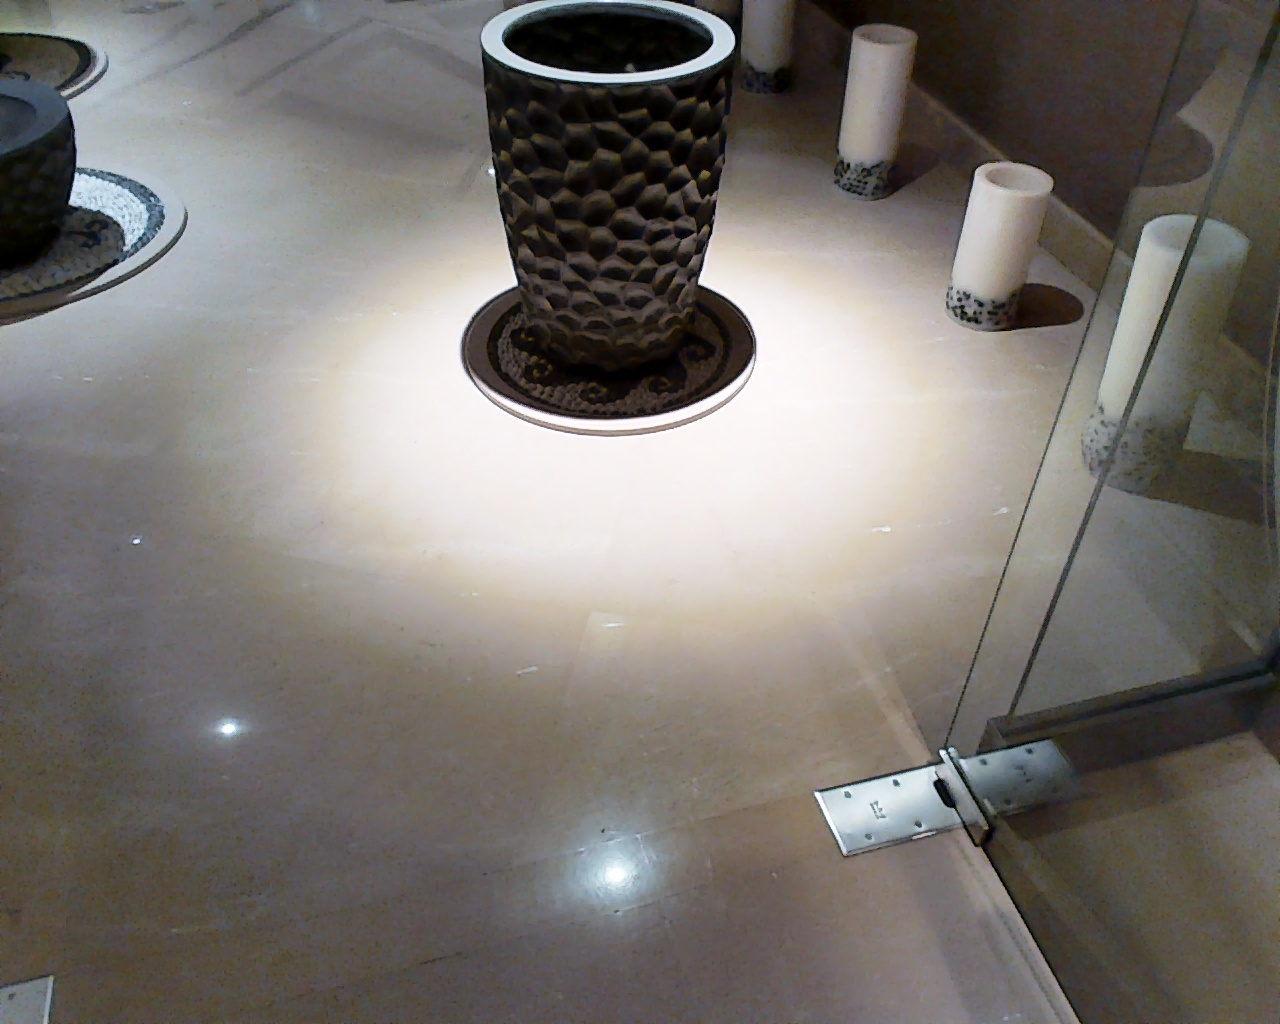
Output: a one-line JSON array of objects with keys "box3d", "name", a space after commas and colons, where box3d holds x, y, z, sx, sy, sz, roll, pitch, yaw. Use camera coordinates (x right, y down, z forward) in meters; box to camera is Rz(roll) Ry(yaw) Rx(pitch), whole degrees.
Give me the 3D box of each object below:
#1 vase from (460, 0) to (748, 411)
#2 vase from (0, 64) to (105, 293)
[{"box3d": [-0.100, -0.760, 2.630, 0.510, 0.810, 0.500, -11, 44, -13], "name": "vase"}, {"box3d": [-1.940, -0.950, 3.100, 0.600, 0.400, 0.600, -11, 44, -13], "name": "vase"}]
